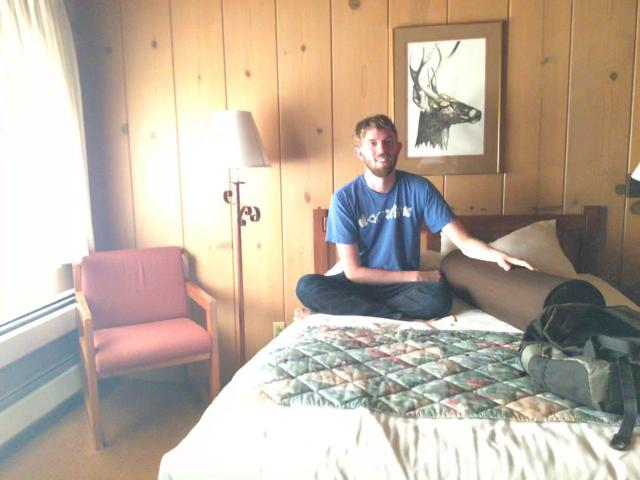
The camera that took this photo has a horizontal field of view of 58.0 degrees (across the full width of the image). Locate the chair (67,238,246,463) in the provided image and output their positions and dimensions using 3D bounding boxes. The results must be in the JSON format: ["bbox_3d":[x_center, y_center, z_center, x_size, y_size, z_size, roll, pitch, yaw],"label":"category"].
[{"bbox_3d":[-0.790,0.460,2.750,0.640,0.790,0.620,-8,11,-26],"label":"chair"}]

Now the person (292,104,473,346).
[{"bbox_3d":[0.300,-0.100,2.290,0.580,0.790,0.720,0,10,16],"label":"person"}]

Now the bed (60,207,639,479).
[{"bbox_3d":[0.470,0.440,1.930,1.490,0.850,1.890,0,10,17],"label":"bed"}]

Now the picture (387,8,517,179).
[{"bbox_3d":[0.600,-0.650,2.650,0.560,0.720,0.060,0,10,16],"label":"picture"}]

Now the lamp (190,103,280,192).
[{"bbox_3d":[-0.380,-0.420,2.640,0.300,0.370,0.260,0,10,16],"label":"lamp"}]
